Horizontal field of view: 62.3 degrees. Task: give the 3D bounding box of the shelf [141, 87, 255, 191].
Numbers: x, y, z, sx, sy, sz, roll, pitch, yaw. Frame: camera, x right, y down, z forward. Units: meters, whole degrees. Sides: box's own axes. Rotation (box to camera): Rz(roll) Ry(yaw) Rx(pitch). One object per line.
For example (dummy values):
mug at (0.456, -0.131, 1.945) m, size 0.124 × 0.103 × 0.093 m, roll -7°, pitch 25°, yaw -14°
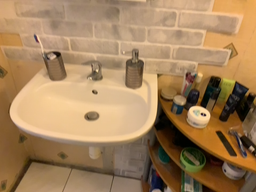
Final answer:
shelf at (0.280, 0.400, 1.080) m, size 0.360 × 0.770 × 0.370 m, roll 8°, pitch 38°, yaw 4°
